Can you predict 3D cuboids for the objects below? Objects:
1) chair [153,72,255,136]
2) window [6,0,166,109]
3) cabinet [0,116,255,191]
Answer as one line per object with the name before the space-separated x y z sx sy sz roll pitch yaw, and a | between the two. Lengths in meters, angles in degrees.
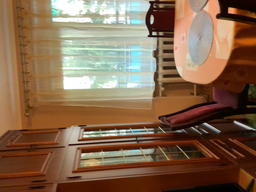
chair | 0.750 0.030 1.840 0.440 0.970 0.450 -132 42 -76
window | -0.430 -0.620 2.500 0.100 1.760 1.510 -135 44 -77
cabinet | 0.150 0.530 1.590 0.910 2.290 0.480 -141 51 -78
